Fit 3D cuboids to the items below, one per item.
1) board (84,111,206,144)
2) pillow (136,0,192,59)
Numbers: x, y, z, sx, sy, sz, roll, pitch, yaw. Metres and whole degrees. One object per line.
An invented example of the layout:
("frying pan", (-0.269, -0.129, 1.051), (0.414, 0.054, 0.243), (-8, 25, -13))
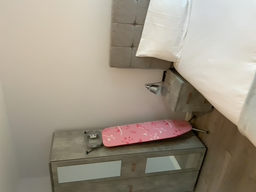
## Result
("board", (0.190, 0.380, 2.650), (0.430, 1.440, 0.160), (-107, 20, -61))
("pillow", (0.340, -0.740, 2.070), (0.140, 0.480, 0.720), (-71, -16, -64))
